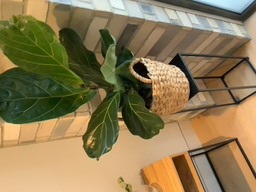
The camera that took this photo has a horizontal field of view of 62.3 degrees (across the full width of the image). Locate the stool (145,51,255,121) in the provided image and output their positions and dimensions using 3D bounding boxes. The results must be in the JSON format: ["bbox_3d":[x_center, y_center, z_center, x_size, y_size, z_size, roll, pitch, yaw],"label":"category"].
[{"bbox_3d":[0.450,-0.050,1.280,0.340,0.560,0.220,-50,51,47],"label":"stool"}]

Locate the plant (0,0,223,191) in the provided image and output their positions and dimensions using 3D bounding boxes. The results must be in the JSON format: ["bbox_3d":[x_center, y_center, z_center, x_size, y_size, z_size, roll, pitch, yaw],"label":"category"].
[{"bbox_3d":[-0.080,0.000,0.870,0.460,0.770,0.520,16,106,57],"label":"plant"}]

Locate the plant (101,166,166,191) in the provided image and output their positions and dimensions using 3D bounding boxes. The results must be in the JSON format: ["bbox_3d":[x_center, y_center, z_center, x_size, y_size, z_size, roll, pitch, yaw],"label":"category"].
[{"bbox_3d":[0.040,0.540,1.160,0.140,0.300,0.210,-50,52,48],"label":"plant"}]
